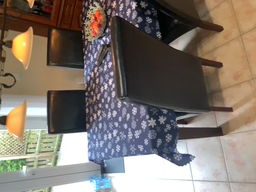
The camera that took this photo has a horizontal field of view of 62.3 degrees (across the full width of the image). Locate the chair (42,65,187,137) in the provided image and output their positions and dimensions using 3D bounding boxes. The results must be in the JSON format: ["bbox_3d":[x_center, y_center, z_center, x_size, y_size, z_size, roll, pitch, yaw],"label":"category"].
[{"bbox_3d":[-0.120,0.120,2.040,0.670,1.180,0.430,-26,65,52],"label":"chair"}]
